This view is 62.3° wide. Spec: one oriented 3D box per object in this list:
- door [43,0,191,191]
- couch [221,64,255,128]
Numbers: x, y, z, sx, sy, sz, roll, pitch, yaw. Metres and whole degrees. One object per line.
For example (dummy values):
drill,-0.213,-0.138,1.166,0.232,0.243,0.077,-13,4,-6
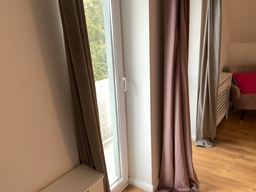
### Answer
door,0.200,-0.270,2.180,0.160,2.450,2.140,8,20,33
couch,2.190,-0.030,3.670,0.790,0.910,0.730,-2,17,4
